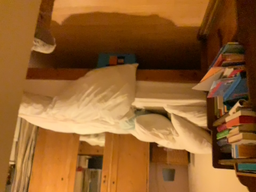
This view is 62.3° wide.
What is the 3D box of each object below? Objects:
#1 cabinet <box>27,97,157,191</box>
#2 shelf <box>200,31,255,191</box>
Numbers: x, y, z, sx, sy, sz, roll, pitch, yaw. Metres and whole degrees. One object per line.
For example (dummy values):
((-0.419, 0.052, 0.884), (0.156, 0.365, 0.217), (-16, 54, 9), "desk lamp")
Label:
((-0.520, 1.160, 3.390), (1.890, 2.180, 0.520), (1, 164, 6), "cabinet")
((0.570, 0.120, 0.980), (0.300, 0.560, 0.620), (1, 163, 7), "shelf")
